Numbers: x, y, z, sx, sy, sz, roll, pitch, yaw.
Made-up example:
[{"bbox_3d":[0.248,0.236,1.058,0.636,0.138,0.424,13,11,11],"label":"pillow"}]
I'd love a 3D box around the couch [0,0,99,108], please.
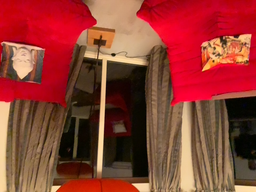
[{"bbox_3d":[-1.000,-0.440,2.050,1.050,0.860,1.080,8,164,-29],"label":"couch"}]

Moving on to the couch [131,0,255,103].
[{"bbox_3d":[1.210,-0.520,1.720,2.160,0.830,0.980,-5,165,22],"label":"couch"}]
